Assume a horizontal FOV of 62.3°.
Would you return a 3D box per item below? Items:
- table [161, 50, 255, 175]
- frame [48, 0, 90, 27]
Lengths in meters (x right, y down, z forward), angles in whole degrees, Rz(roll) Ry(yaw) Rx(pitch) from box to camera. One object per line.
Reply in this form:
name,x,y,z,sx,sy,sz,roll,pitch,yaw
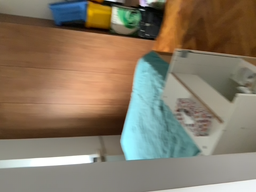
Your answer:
table,0.740,0.050,1.310,0.680,0.800,0.380,-117,34,-56
frame,-0.930,-1.370,3.330,0.480,0.580,0.400,-120,37,-58
